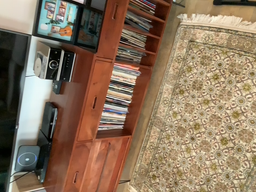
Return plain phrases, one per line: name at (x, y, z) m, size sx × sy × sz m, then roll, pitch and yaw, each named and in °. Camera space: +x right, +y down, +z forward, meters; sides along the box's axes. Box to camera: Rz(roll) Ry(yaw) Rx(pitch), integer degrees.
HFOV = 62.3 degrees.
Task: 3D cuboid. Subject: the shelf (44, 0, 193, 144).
shelf at (-0.100, -0.300, 1.590) m, size 0.530 × 0.680 × 1.110 m, roll 31°, pitch 110°, yaw 45°
